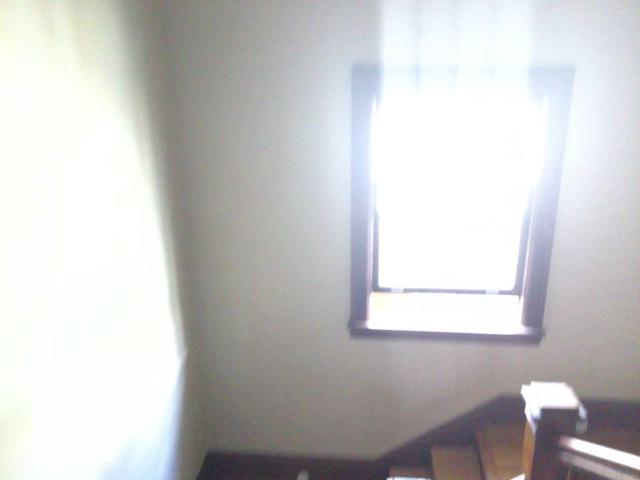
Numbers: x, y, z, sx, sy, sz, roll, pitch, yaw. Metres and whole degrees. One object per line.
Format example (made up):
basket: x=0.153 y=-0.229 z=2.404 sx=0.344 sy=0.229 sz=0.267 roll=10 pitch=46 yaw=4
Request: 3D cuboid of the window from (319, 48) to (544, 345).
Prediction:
window: x=0.600 y=-0.200 z=3.100 sx=1.070 sy=1.470 sz=0.300 roll=-3 pitch=14 yaw=7
